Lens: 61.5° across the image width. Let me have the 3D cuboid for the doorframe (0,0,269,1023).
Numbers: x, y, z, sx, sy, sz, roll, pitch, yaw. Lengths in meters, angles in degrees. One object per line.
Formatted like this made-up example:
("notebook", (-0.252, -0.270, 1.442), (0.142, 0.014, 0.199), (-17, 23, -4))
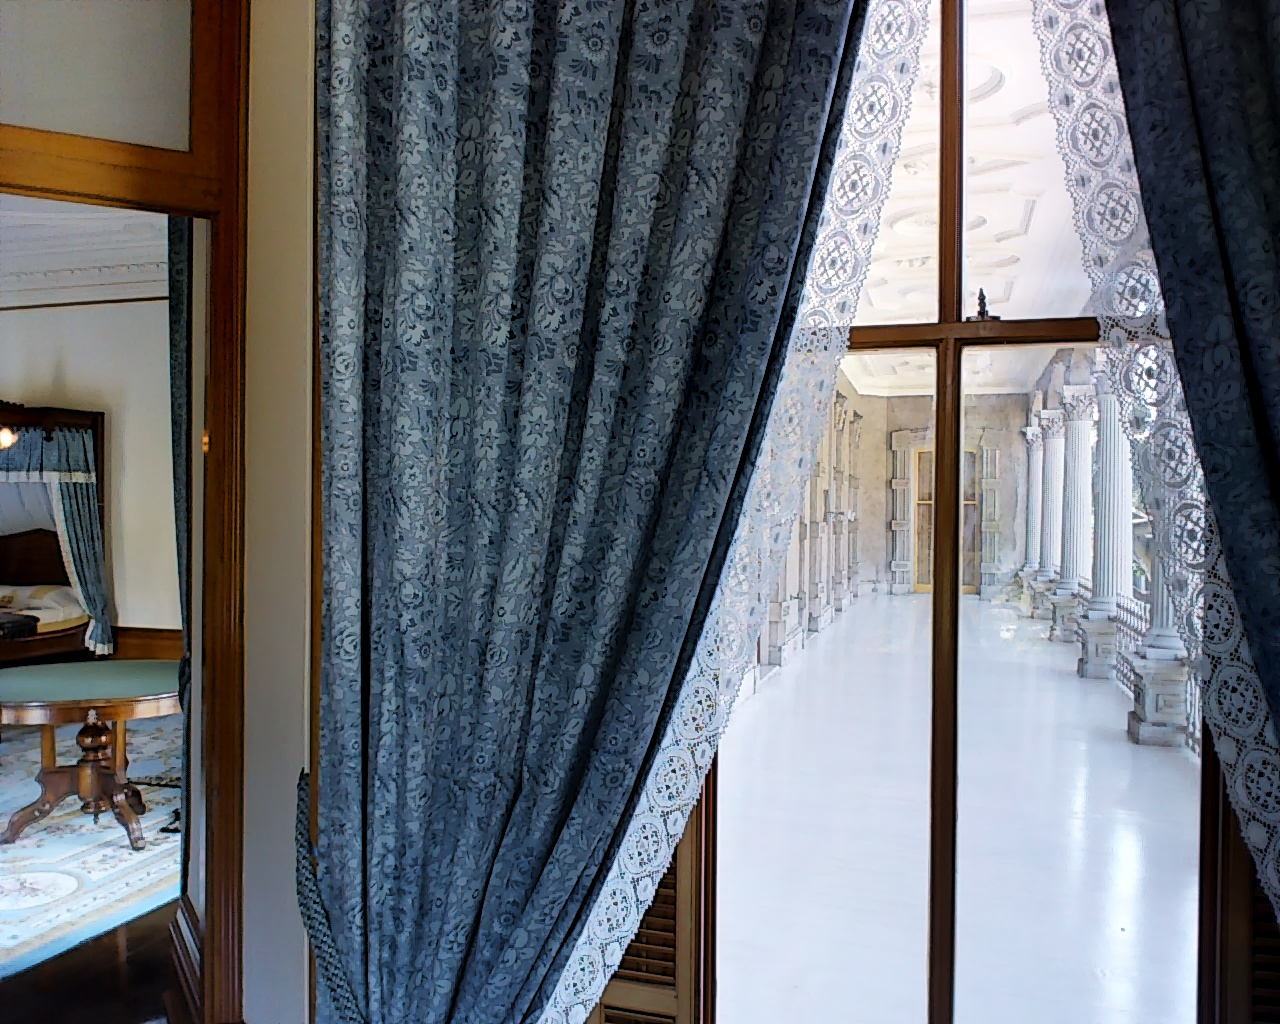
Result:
("doorframe", (-1.330, -0.050, 2.500), (0.850, 3.130, 0.290), (0, -1, -27))
